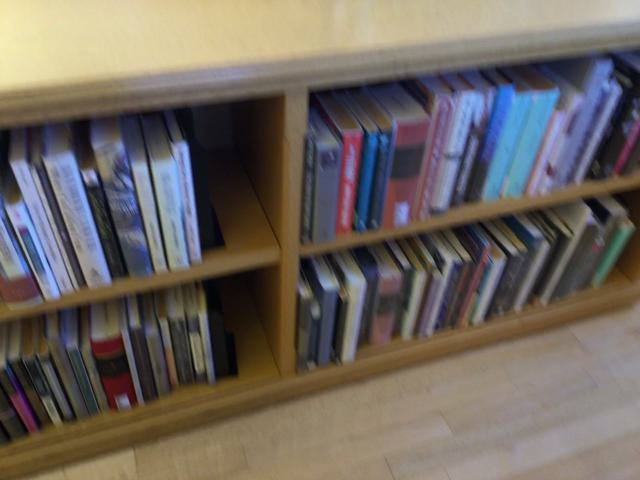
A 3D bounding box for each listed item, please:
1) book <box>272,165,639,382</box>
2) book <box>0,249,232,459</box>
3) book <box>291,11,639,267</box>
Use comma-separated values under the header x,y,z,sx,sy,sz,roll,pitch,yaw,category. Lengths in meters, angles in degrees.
x,y,z,sx,sy,sz,roll,pitch,yaw,category
0.310,0.060,1.210,0.810,0.290,0.130,-11,44,-15,book
-0.540,0.230,0.970,0.750,0.280,0.130,-11,44,-15,book
0.300,-0.190,1.030,0.680,0.320,0.170,-11,44,-15,book
